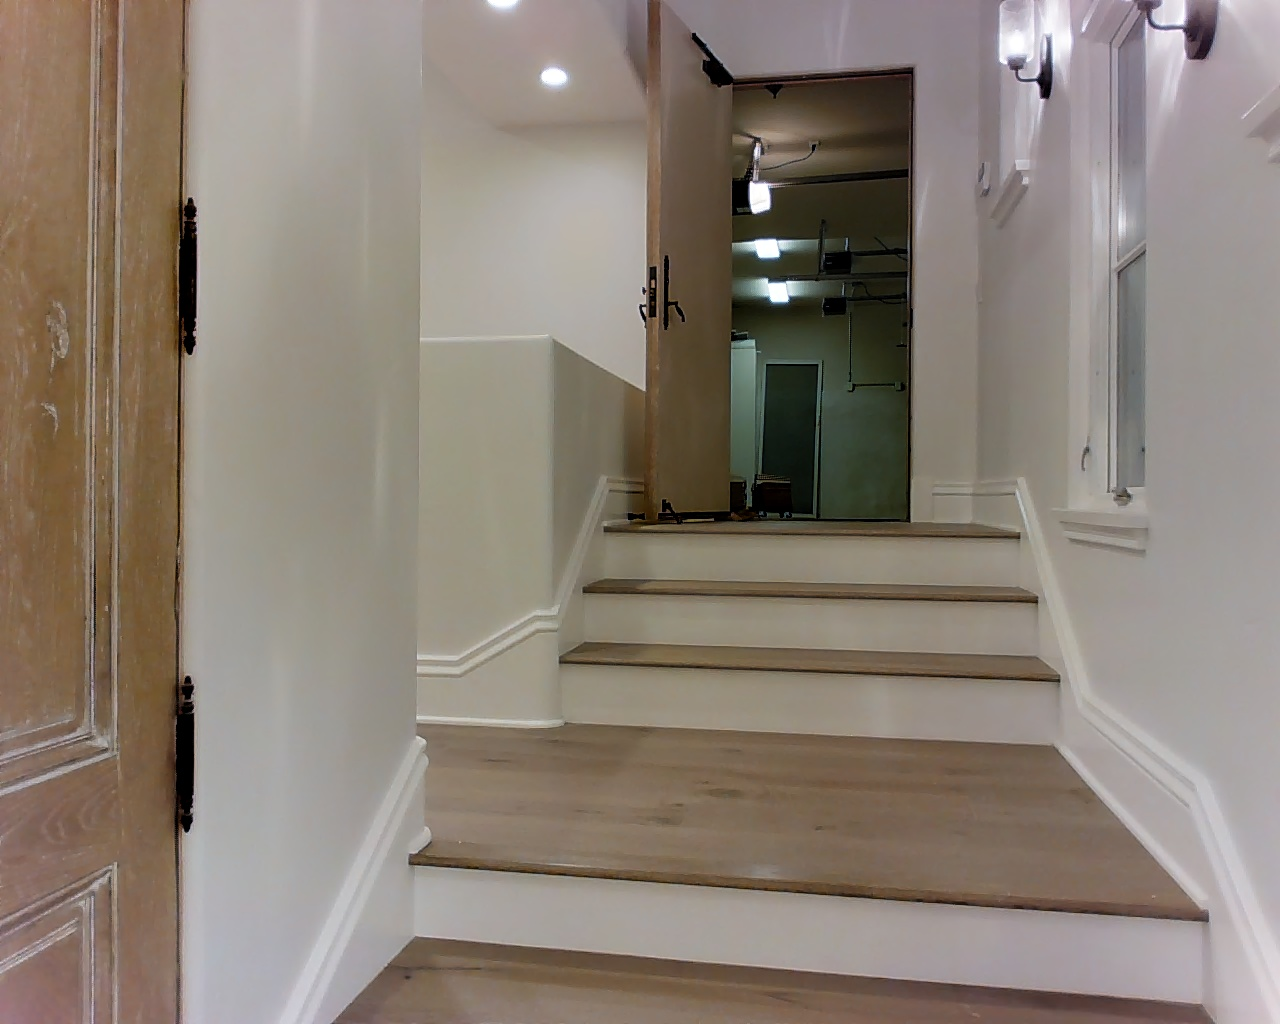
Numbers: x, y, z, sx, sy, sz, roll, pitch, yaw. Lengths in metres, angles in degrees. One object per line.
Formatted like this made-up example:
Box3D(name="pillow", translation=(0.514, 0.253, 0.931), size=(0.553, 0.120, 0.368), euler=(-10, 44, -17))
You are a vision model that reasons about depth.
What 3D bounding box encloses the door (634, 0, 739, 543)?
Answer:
Box3D(name="door", translation=(0.220, -0.980, 4.670), size=(0.110, 2.201, 0.890), euler=(1, 0, 25))
